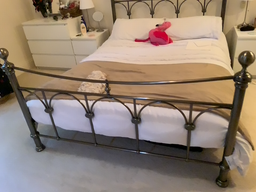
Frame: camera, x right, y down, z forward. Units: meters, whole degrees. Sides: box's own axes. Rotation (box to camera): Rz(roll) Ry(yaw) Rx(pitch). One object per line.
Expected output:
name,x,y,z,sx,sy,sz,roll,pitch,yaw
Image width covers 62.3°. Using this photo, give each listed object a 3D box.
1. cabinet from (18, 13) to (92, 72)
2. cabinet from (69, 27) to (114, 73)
cabinet,-1.130,-0.870,3.420,0.810,0.760,0.530,5,33,17
cabinet,-0.530,-0.730,3.290,0.420,0.540,0.520,5,33,17
